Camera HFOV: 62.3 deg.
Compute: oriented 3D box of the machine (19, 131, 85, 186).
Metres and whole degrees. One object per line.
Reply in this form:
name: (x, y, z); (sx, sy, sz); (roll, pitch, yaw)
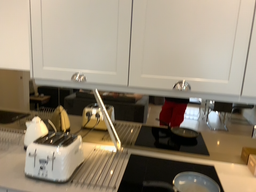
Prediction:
machine: (-0.450, 0.370, 1.310); (0.280, 0.180, 0.280); (6, 13, 9)
